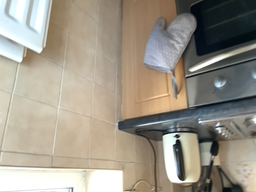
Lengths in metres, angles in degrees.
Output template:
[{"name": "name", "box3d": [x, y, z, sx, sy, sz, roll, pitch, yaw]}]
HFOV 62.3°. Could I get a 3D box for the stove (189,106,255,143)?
[{"name": "stove", "box3d": [0.640, 0.110, 0.850, 0.600, 0.030, 0.580, -14, 156, 32]}]
